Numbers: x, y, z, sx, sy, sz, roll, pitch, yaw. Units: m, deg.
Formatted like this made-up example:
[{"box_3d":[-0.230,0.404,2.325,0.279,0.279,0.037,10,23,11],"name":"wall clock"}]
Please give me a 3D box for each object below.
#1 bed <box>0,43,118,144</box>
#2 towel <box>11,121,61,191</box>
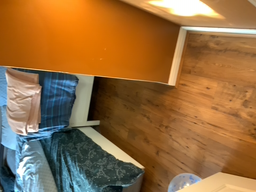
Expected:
[{"box_3d":[-0.980,-0.130,2.410,1.370,0.990,0.710,22,105,47],"name":"bed"},{"box_3d":[-0.910,0.880,2.080,1.140,0.140,0.630,53,125,36],"name":"towel"}]
